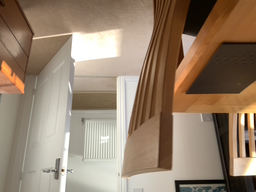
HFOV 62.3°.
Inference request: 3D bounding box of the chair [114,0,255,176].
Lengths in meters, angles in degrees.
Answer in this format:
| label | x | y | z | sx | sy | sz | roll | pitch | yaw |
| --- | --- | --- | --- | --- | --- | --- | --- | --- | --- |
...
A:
| label | x | y | z | sx | sy | sz | roll | pitch | yaw |
| --- | --- | --- | --- | --- | --- | --- | --- | --- | --- |
| chair | 0.250 | -0.300 | 0.710 | 0.540 | 1.040 | 0.490 | 2 | 158 | -10 |
